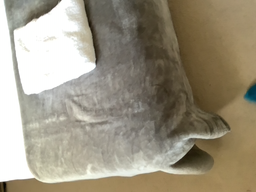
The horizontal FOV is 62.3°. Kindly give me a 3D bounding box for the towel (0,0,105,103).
[{"bbox_3d":[-0.340,-0.210,0.900,0.430,0.090,0.370,-19,80,24],"label":"towel"}]
